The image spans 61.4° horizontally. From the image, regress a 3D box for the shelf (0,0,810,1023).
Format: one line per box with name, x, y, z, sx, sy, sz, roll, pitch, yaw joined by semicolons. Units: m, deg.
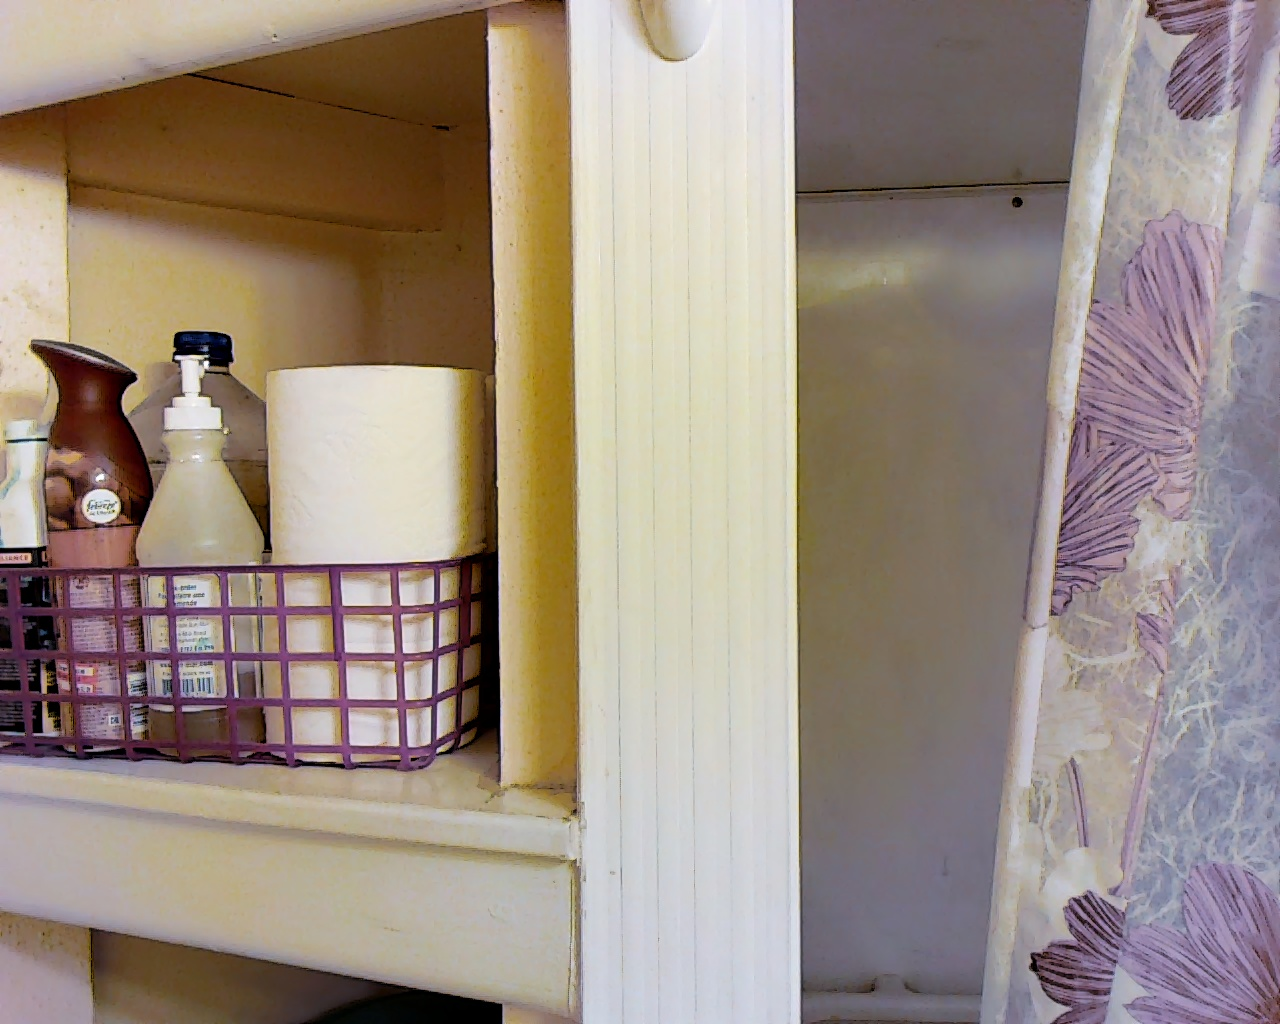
shelf;-0.200;0.170;0.790;0.500;1.040;0.500;-1;1;27
